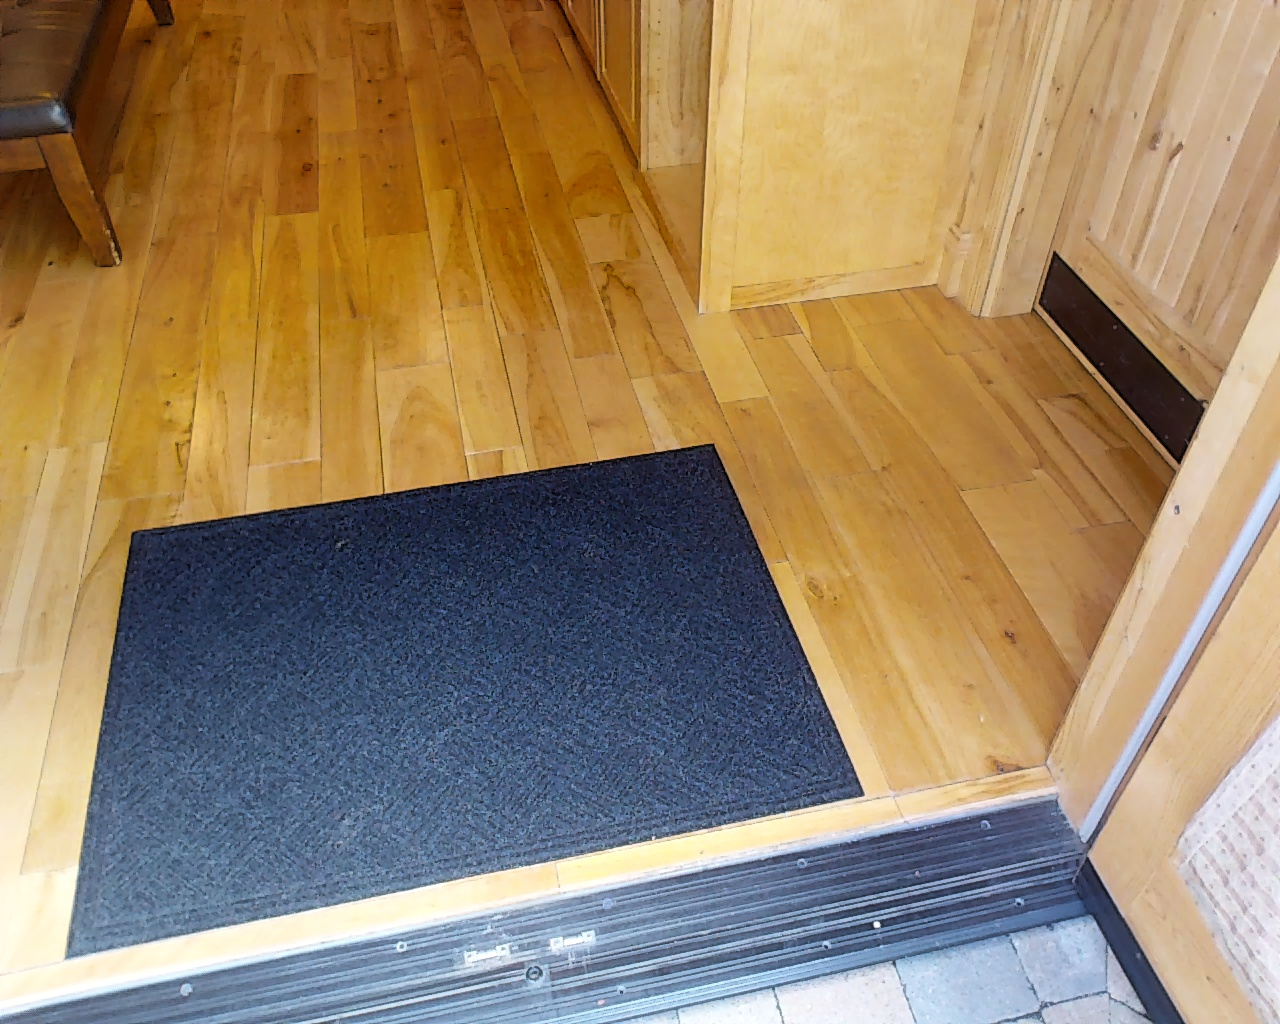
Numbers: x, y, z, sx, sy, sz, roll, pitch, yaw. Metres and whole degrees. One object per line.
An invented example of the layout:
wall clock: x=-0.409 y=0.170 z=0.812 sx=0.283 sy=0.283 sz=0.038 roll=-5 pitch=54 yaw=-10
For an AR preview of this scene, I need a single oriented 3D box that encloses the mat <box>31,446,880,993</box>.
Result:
mat: x=-0.340 y=0.270 z=1.960 sx=1.280 sy=0.010 sz=0.940 roll=-8 pitch=45 yaw=-9
